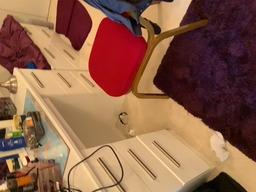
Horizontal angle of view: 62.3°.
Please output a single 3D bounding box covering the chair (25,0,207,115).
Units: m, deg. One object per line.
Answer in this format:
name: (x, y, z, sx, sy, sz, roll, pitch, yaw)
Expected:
chair: (-0.060, -0.310, 1.230, 0.460, 0.800, 0.580, 43, 122, 34)
